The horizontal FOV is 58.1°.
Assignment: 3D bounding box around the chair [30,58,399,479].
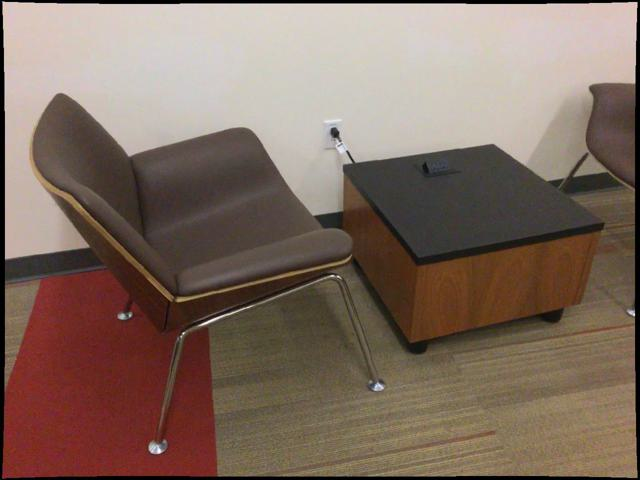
[{"bbox_3d":[-0.329,0.000,1.720,0.778,0.761,0.830,-15,35,-19],"label":"chair"}]
